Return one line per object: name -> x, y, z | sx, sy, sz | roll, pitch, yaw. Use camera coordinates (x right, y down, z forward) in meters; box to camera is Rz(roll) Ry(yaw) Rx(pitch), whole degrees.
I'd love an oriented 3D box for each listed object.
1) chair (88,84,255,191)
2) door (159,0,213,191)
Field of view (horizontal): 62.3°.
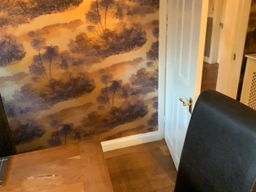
chair -> 0.220, 0.590, 1.000 | 0.610, 1.120, 0.450 | -10, 26, -16
door -> 0.410, -0.200, 1.780 | 0.080, 2.030, 0.880 | -4, 25, -3
